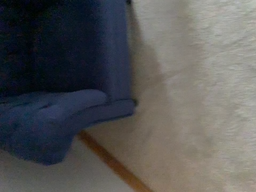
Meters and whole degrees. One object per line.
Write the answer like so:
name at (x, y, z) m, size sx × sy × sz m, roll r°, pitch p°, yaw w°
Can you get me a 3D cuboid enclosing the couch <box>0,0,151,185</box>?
couch at (-0.570, -0.230, 1.040) m, size 0.920 × 1.100 × 0.940 m, roll -3°, pitch 89°, yaw 32°
